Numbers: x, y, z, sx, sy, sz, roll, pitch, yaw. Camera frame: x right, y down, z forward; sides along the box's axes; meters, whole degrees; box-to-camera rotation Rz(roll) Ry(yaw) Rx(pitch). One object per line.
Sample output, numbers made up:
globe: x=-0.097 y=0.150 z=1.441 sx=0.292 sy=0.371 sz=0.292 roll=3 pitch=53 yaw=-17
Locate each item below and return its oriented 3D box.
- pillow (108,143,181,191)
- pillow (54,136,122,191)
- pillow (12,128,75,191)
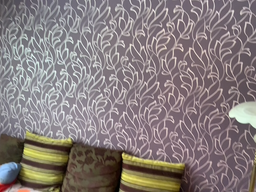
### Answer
pillow: x=0.150 y=0.750 z=1.910 sx=0.500 sy=0.410 sz=0.220 roll=26 pitch=9 yaw=9
pillow: x=-0.380 y=0.710 z=2.040 sx=0.480 sy=0.470 sz=0.220 roll=19 pitch=8 yaw=10
pillow: x=-0.840 y=0.630 z=2.110 sx=0.460 sy=0.440 sz=0.170 roll=24 pitch=9 yaw=8
